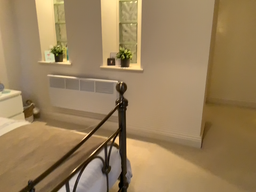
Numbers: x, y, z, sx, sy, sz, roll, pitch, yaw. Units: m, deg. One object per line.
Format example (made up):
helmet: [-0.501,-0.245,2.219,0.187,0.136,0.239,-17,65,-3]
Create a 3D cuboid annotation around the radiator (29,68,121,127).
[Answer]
radiator: [-0.700,-0.010,2.720,1.290,0.590,0.140,7,19,23]
